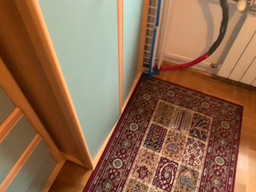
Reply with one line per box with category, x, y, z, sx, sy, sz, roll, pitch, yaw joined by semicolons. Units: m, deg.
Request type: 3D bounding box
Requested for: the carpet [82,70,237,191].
carpet;0.120;0.610;1.140;0.760;0.020;1.840;18;56;11
